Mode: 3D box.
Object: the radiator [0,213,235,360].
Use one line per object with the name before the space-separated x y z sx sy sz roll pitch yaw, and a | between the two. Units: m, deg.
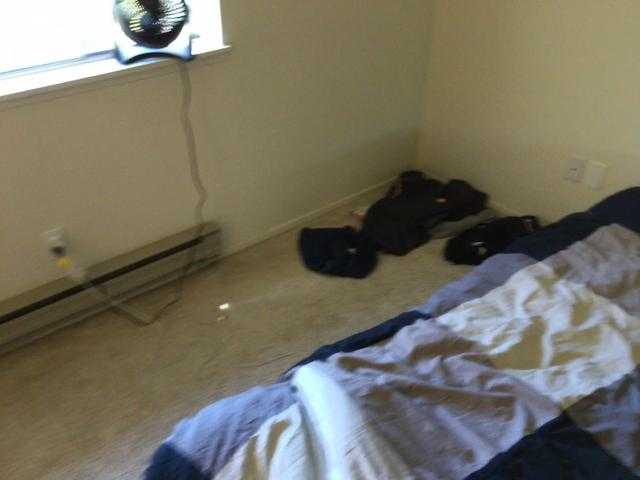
radiator | -1.020 0.260 2.010 1.630 0.200 0.100 -23 39 -33
